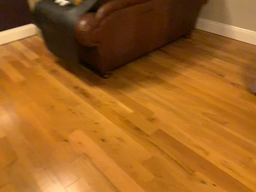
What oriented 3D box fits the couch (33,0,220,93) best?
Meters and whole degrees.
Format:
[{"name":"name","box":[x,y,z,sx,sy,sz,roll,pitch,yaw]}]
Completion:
[{"name":"couch","box":[0.130,-1.040,2.810,2.220,0.810,1.040,-29,45,-32]}]
